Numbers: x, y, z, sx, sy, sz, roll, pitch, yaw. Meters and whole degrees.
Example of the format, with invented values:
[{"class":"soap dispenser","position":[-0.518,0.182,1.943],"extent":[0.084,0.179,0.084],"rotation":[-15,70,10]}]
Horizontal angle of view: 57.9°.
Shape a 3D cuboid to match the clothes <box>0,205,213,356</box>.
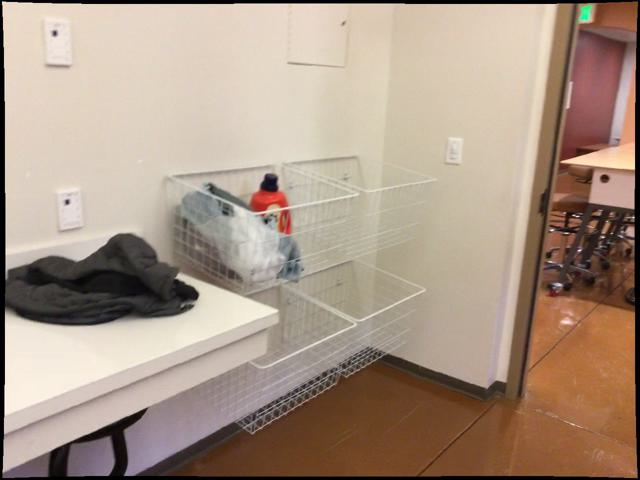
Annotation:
[{"class":"clothes","position":[-0.579,0.070,1.480],"extent":[0.470,0.180,0.380],"rotation":[15,22,37]}]
